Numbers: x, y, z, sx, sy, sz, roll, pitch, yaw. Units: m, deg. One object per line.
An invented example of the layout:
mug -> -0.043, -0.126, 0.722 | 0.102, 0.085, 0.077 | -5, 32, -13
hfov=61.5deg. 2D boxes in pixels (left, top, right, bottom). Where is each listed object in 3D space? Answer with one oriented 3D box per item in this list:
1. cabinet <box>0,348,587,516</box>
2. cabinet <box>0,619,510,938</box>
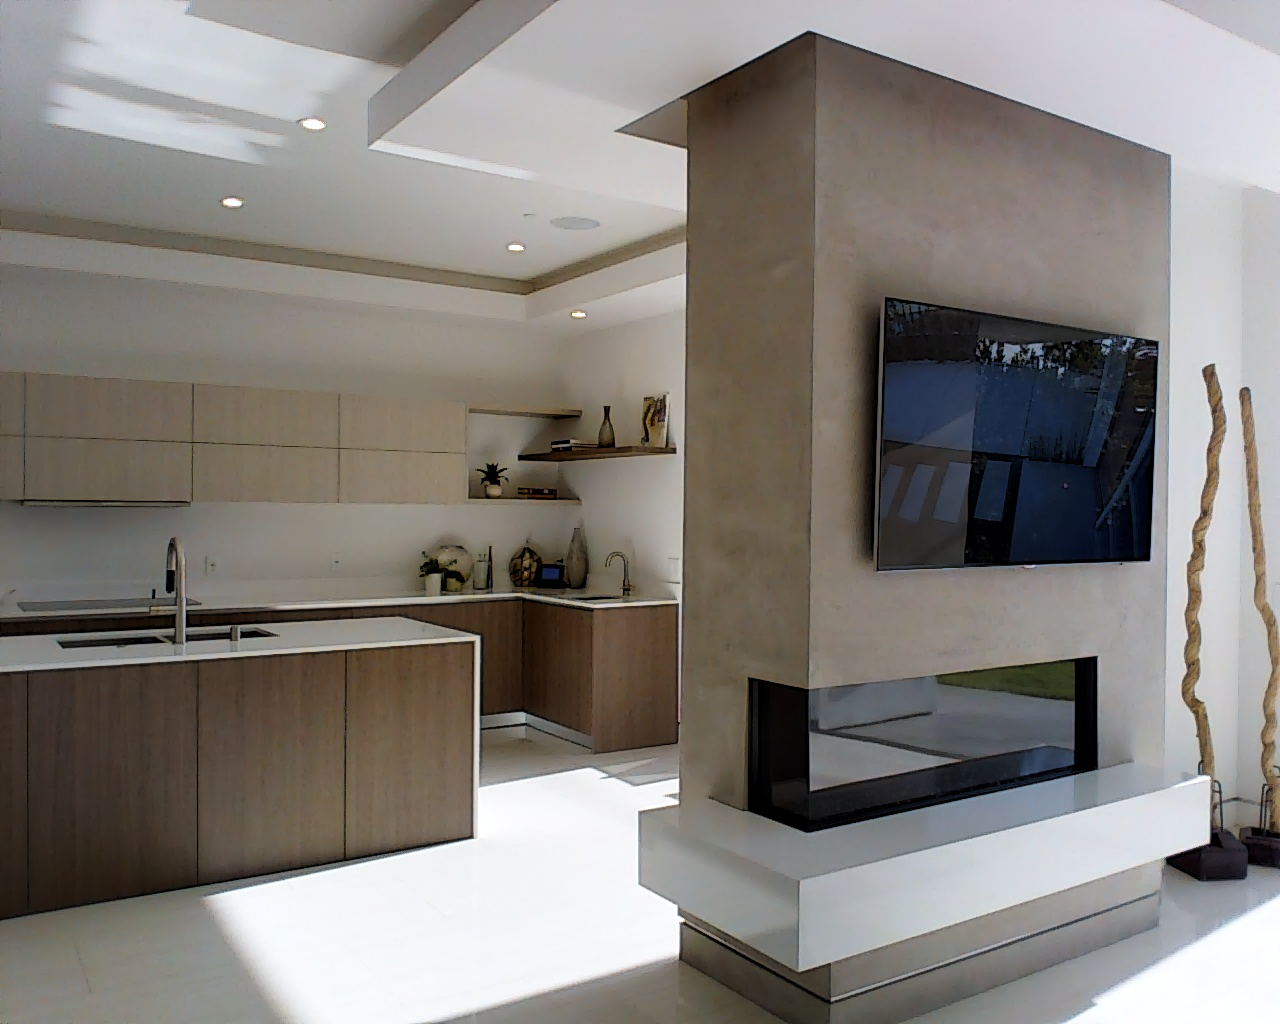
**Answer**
cabinet -> -2.479, -0.450, 7.030 | 4.659, 0.910, 0.460 | 1, 0, -33
cabinet -> -1.999, 1.070, 4.780 | 2.619, 0.980, 1.050 | 1, 0, -33
